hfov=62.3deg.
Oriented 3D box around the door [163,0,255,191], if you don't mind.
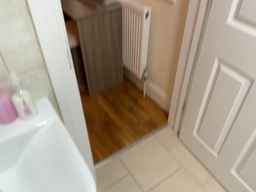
[{"bbox_3d":[0.490,-0.330,0.890,0.020,2.040,0.800,-17,45,-19],"label":"door"}]
